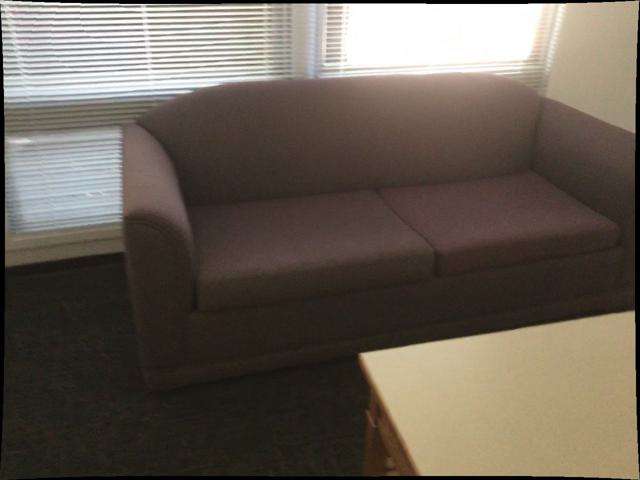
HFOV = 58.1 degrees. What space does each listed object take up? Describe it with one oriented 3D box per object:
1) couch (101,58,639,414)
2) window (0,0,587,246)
[{"bbox_3d":[0.190,-0.150,2.170,1.797,0.771,0.930,-7,32,-16],"label":"couch"},{"bbox_3d":[-0.090,-1.102,2.160,2.377,1.992,0.470,-7,32,-16],"label":"window"}]
